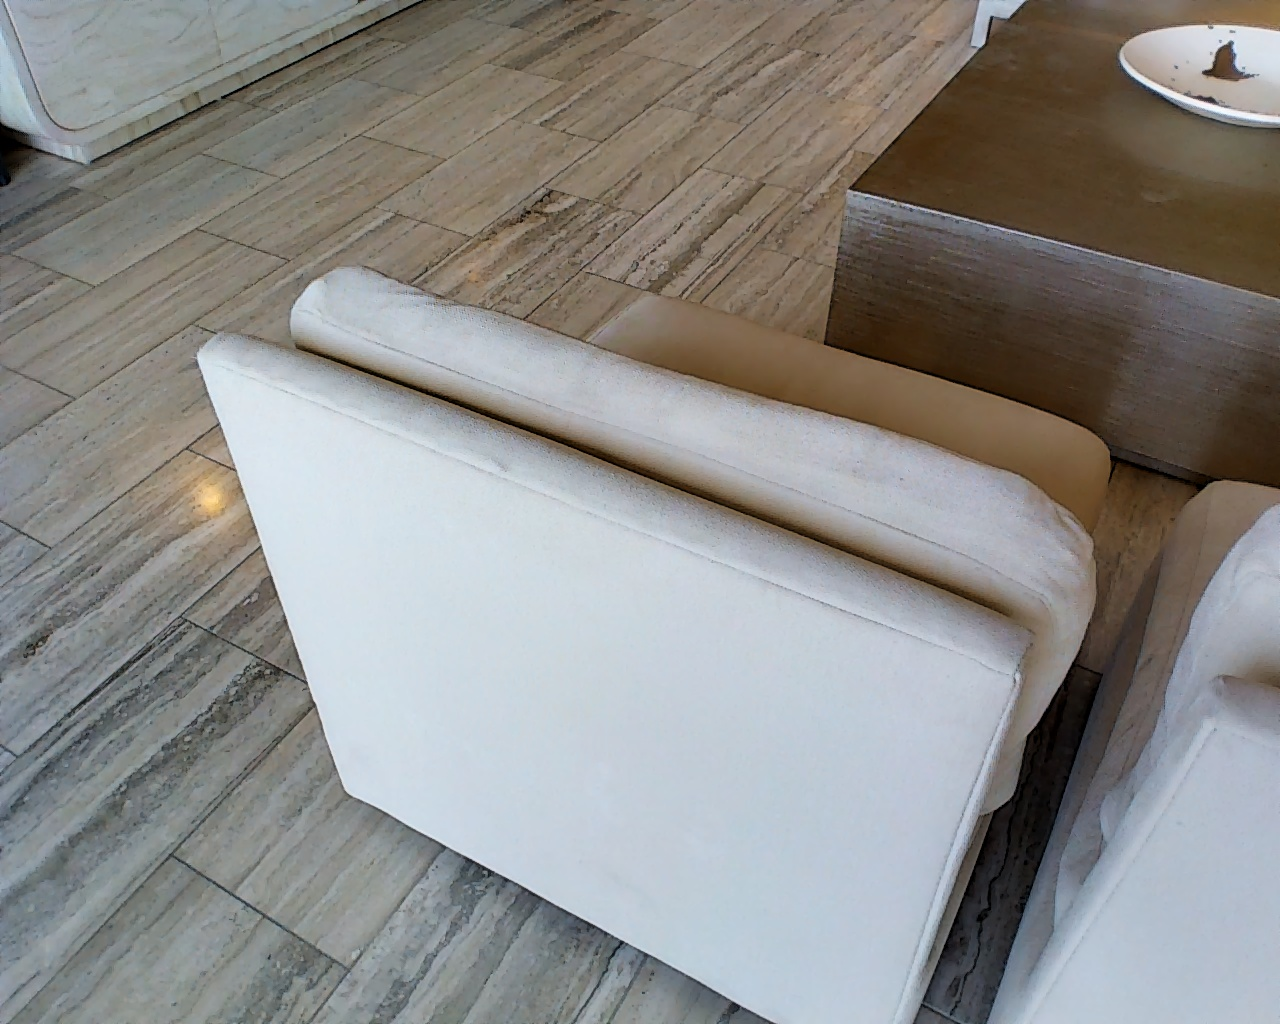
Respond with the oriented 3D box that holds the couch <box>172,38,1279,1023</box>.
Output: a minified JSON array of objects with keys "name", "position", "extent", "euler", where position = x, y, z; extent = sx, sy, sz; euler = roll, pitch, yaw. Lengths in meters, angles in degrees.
[{"name":"couch","position":[0.160,0.010,1.360],"extent":[0.840,0.770,0.880],"euler":[21,47,21]}]

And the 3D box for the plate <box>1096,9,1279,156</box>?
[{"name":"plate","position":[1.270,-0.870,2.190],"extent":[0.550,0.060,0.530],"euler":[20,46,20]}]
